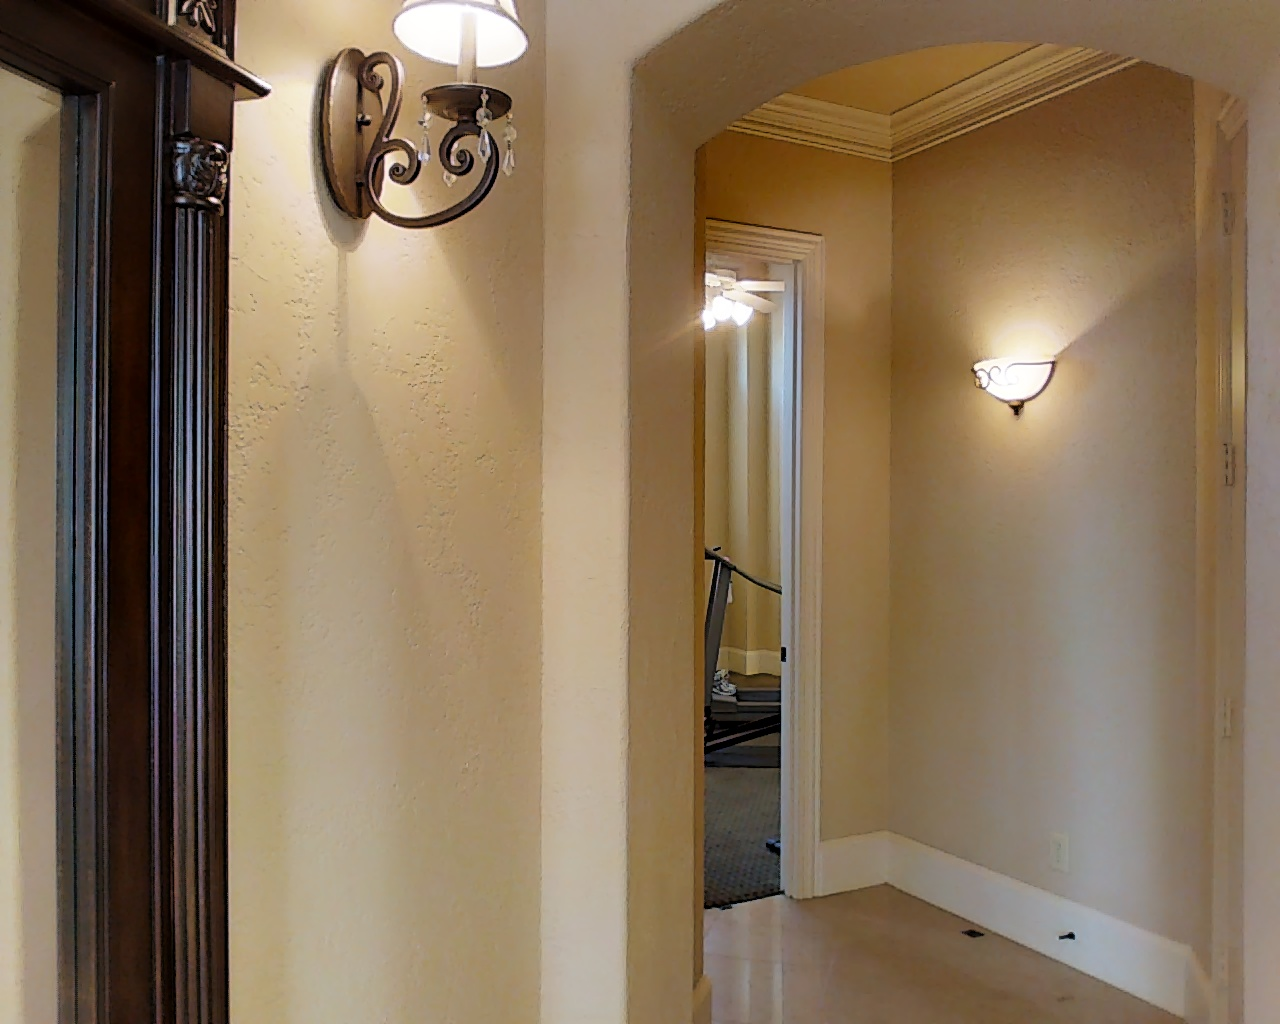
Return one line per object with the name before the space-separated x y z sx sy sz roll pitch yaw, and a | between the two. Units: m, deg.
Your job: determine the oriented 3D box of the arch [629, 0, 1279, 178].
arch | 0.570 -0.810 1.910 1.070 0.180 0.520 0 0 17
